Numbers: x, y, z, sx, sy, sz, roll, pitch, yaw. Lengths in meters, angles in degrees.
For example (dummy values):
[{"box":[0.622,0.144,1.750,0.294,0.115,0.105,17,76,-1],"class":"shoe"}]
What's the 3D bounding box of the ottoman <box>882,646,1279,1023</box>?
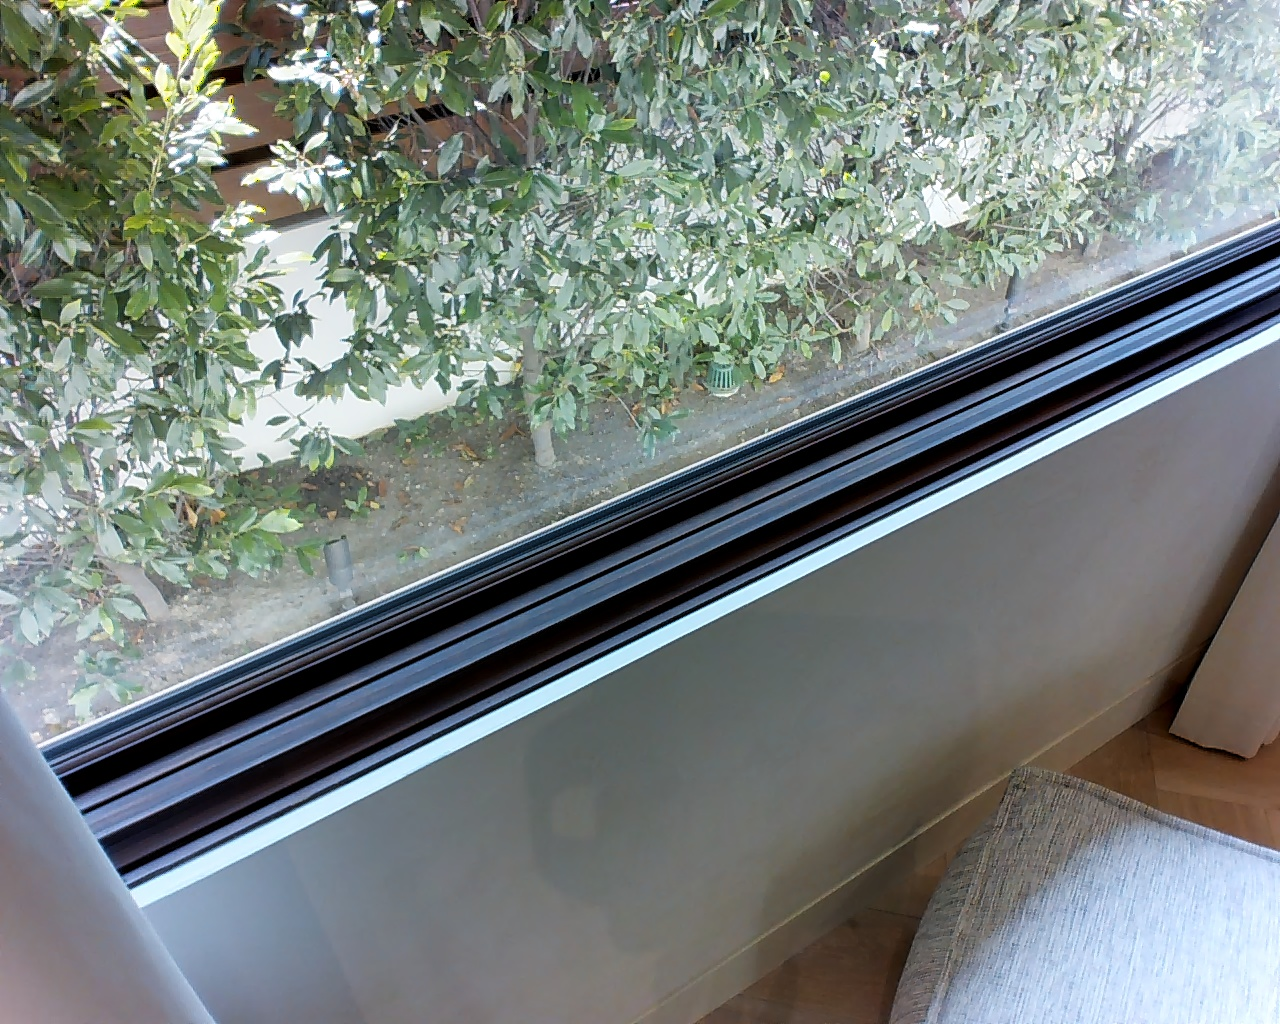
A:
[{"box":[0.710,0.690,1.440,0.690,0.430,0.750,17,45,18],"class":"ottoman"}]
